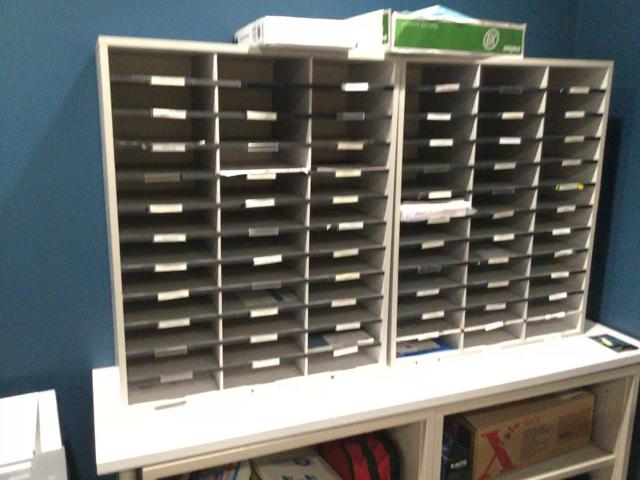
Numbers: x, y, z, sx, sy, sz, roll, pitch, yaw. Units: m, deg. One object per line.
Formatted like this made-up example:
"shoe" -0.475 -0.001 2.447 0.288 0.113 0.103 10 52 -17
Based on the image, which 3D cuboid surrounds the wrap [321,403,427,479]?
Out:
"wrap" 0.140 0.640 1.640 0.150 0.180 0.350 -5 14 -22
